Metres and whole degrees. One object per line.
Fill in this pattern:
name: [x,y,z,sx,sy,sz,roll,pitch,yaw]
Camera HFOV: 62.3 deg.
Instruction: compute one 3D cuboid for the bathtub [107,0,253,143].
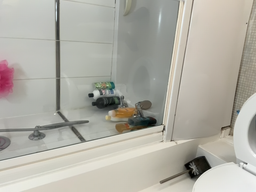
bathtub: [0.330,-0.650,1.430,0.710,0.580,1.660,27,117,52]
